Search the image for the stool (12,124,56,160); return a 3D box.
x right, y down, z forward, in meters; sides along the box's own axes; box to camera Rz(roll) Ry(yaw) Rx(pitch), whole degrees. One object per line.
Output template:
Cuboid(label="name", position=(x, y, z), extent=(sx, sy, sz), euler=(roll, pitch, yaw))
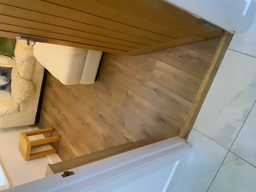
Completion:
Cuboid(label="stool", position=(-1.300, 0.620, 2.940), extent=(0.270, 0.450, 0.310), euler=(35, 115, 37))
